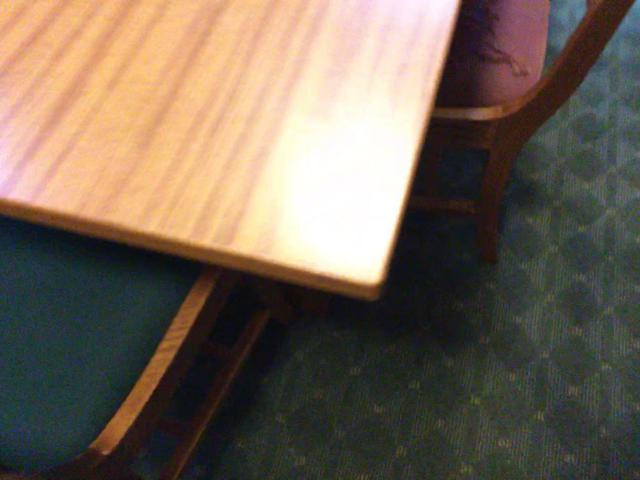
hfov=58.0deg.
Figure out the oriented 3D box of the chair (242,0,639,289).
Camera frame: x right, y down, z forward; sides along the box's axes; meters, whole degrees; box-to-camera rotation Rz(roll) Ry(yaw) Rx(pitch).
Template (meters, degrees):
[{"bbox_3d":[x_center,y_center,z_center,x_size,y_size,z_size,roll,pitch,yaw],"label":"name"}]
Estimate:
[{"bbox_3d":[0.210,-0.310,1.060,0.490,0.680,0.460,14,63,10],"label":"chair"}]
